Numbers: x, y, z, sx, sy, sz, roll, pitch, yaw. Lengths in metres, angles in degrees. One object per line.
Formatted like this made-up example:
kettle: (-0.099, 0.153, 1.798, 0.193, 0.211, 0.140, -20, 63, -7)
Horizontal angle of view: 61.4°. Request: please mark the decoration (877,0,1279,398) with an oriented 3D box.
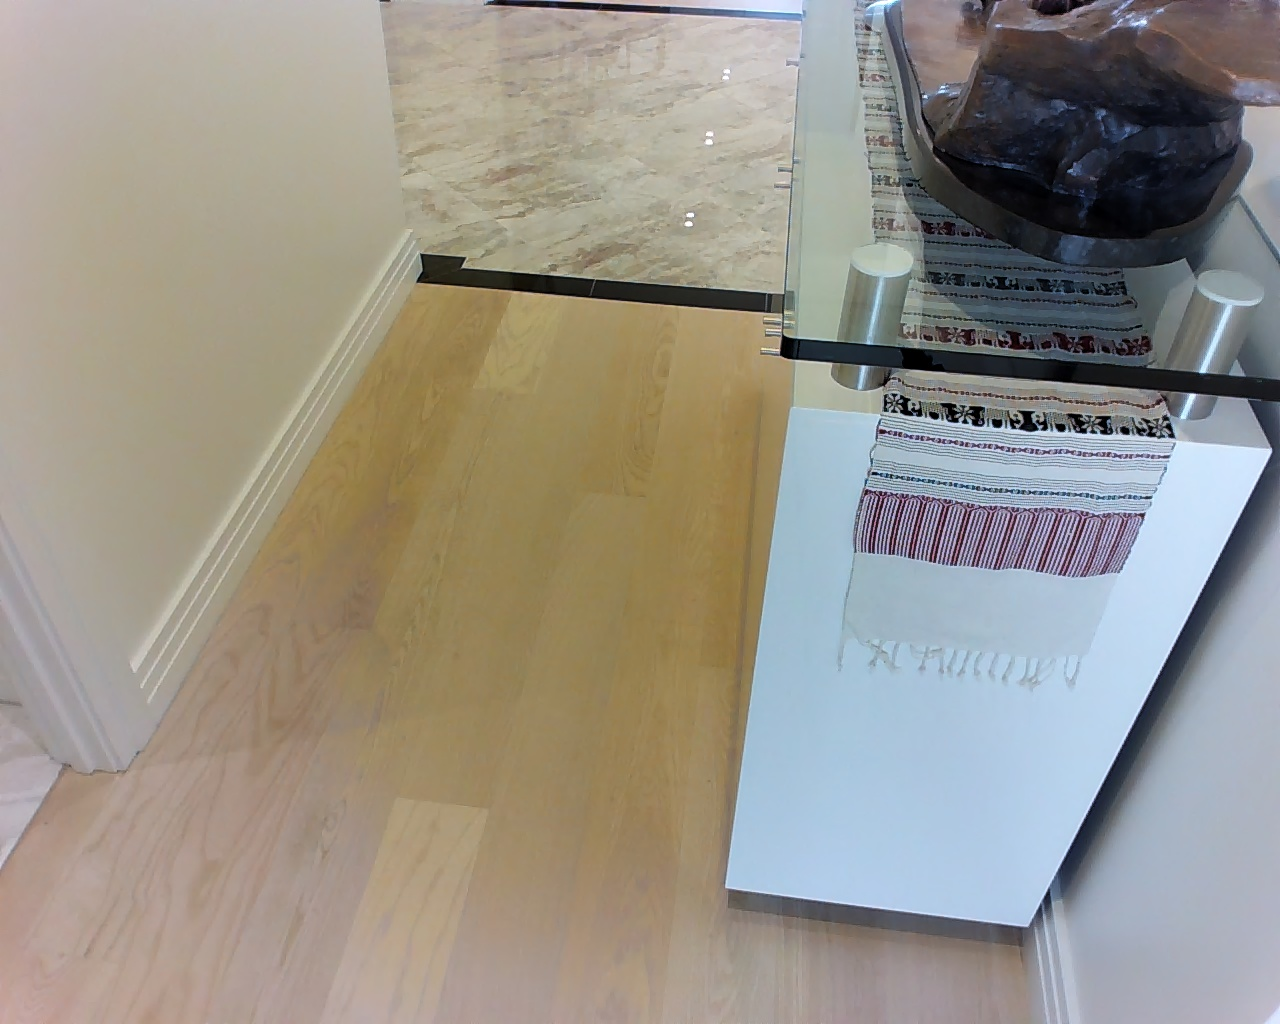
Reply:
decoration: (0.410, -0.490, 0.960, 0.310, 0.370, 0.800, 6, 41, 5)
